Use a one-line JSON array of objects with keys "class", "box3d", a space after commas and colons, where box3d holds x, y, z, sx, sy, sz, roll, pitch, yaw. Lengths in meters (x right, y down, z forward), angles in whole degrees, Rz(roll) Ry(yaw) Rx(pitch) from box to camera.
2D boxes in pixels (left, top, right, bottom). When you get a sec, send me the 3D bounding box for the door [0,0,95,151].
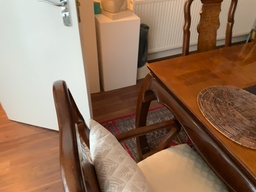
[{"class": "door", "box3d": [-0.610, -0.470, 1.160, 0.720, 2.100, 0.090, 11, 40, 11]}]
